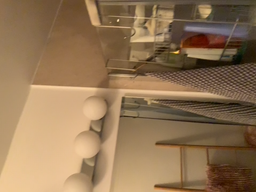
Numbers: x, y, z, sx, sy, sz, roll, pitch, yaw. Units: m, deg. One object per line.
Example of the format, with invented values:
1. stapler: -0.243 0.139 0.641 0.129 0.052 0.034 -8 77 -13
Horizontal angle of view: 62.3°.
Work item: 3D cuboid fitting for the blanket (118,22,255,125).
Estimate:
1. blanket: 0.510 -0.080 0.840 0.210 1.050 0.340 80 -165 -64
